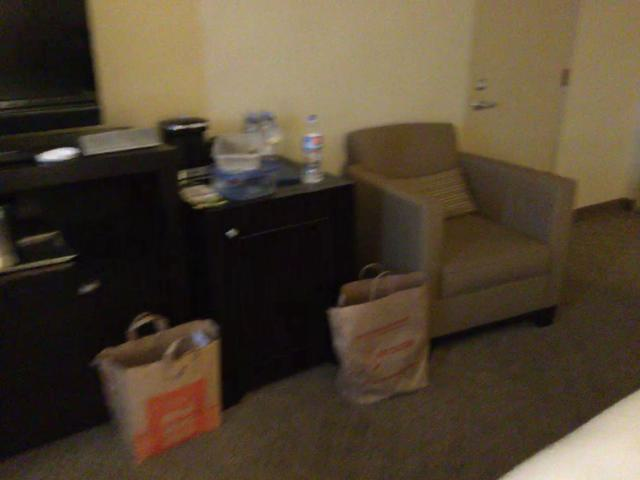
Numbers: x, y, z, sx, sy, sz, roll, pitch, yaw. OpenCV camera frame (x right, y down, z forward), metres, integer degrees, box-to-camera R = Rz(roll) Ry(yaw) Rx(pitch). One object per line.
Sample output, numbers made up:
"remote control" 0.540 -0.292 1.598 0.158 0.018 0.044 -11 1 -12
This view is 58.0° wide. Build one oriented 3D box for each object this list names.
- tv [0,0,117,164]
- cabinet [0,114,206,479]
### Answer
"tv" -1.050 -0.520 1.670 0.820 0.590 0.160 -11 23 -32
"cabinet" -1.040 0.160 1.890 1.160 1.020 0.570 -10 23 -32
